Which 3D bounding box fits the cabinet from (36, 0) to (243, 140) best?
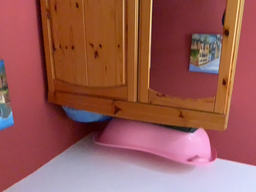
[{"bbox_3d":[0.080,-0.900,1.330,1.200,2.040,0.610,7,-164,24],"label":"cabinet"}]
